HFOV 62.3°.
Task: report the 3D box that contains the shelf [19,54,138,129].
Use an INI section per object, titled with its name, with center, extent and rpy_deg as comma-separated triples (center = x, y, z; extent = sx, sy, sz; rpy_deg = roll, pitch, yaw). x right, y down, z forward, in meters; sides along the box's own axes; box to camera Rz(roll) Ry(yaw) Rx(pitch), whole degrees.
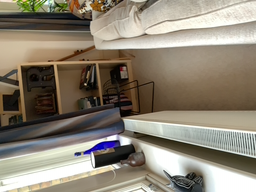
[shelf]
center = -0.620, -0.090, 2.810
extent = 0.440, 1.380, 0.810
rpy_deg = 169, 95, -65
